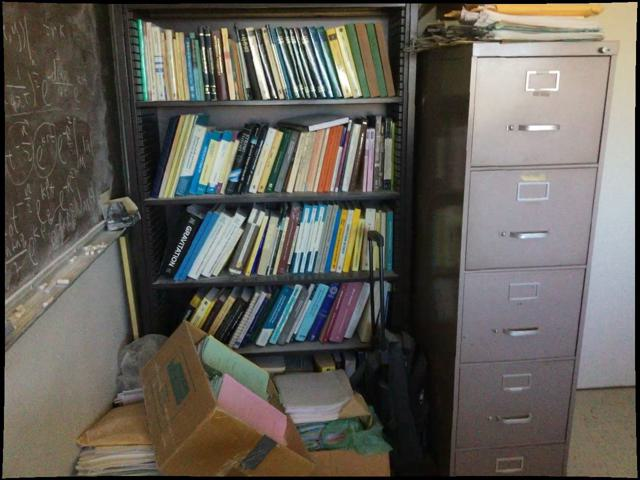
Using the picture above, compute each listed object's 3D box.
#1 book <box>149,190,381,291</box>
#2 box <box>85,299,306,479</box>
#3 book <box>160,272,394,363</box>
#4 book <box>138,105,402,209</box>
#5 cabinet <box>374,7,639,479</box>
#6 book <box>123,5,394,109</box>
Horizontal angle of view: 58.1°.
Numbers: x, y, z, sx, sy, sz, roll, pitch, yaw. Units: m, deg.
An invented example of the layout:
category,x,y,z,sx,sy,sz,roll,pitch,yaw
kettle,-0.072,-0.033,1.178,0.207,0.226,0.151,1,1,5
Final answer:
category,x,y,z,sx,sy,sz,roll,pitch,yaw
book,-0.199,-0.010,2.200,0.808,0.291,0.290,-2,16,-6
box,-0.339,0.541,1.820,0.539,0.461,0.680,-2,16,-5
book,-0.160,0.291,2.230,0.848,0.241,0.220,-2,16,-6
book,-0.170,-0.311,2.080,0.868,0.321,0.280,-2,16,-6
cabinet,0.519,0.090,2.000,0.479,1.594,0.780,-2,16,-6
book,-0.199,-0.632,2.010,0.868,0.321,0.230,-2,16,-6
